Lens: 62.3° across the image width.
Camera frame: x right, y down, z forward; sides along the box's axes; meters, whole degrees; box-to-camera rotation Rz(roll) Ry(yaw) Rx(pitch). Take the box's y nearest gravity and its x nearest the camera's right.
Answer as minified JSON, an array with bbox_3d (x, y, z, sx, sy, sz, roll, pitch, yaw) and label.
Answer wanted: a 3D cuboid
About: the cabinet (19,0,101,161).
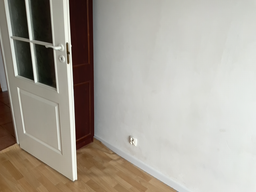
[{"bbox_3d":[-0.630,-0.430,2.070,0.500,2.040,0.510,21,28,36],"label":"cabinet"}]
